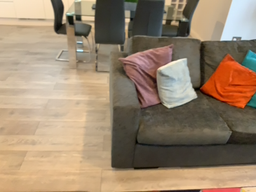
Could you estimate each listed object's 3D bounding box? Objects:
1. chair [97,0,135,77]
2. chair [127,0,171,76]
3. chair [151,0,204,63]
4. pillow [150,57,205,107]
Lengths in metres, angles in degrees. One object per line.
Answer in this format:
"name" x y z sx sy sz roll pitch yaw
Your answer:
"chair" -0.180 -0.840 2.900 0.430 1.000 0.550 1 34 -5
"chair" 0.250 -0.850 2.990 0.430 0.970 0.550 1 34 -5
"chair" 0.740 -1.090 3.370 0.550 1.010 0.450 1 34 -5
"pillow" 0.410 -0.110 1.830 0.400 0.370 0.110 -28 70 -14
